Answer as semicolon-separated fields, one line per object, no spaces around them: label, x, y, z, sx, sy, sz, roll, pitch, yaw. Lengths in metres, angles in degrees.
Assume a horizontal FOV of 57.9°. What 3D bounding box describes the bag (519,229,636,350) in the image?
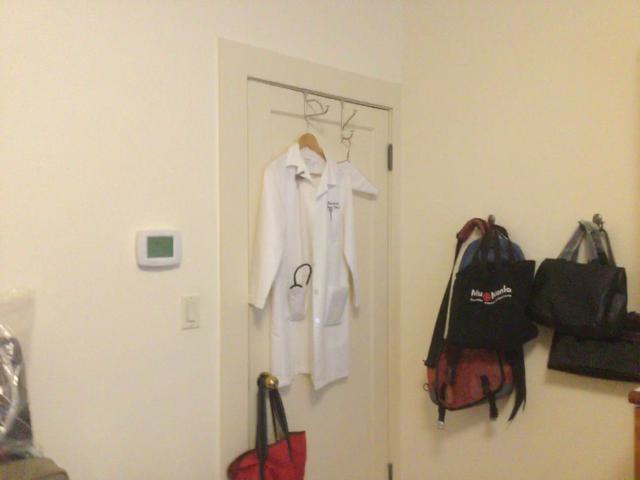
bag;0.860;0.150;1.940;0.190;0.370;0.310;-2;1;-43

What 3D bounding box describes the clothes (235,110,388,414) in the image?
clothes;-0.010;0.070;2.190;0.630;1.010;0.150;-2;1;-43

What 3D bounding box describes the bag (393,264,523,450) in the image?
bag;0.530;0.420;2.260;0.220;0.630;0.440;-2;1;-43

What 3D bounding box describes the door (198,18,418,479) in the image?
door;0.010;0.330;2.230;0.960;2.080;0.170;-2;1;-43

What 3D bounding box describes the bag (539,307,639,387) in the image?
bag;0.930;0.350;1.950;0.130;0.210;0.330;-2;1;-43

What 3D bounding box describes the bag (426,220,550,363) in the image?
bag;0.620;0.170;2.150;0.240;0.480;0.370;-2;1;-43
